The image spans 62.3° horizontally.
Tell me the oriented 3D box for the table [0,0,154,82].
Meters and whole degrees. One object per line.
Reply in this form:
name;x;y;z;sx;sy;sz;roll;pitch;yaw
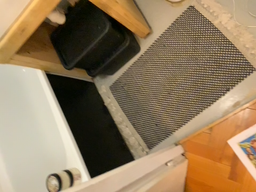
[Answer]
table;-0.330;-0.450;1.290;0.600;0.840;0.370;-34;71;23
